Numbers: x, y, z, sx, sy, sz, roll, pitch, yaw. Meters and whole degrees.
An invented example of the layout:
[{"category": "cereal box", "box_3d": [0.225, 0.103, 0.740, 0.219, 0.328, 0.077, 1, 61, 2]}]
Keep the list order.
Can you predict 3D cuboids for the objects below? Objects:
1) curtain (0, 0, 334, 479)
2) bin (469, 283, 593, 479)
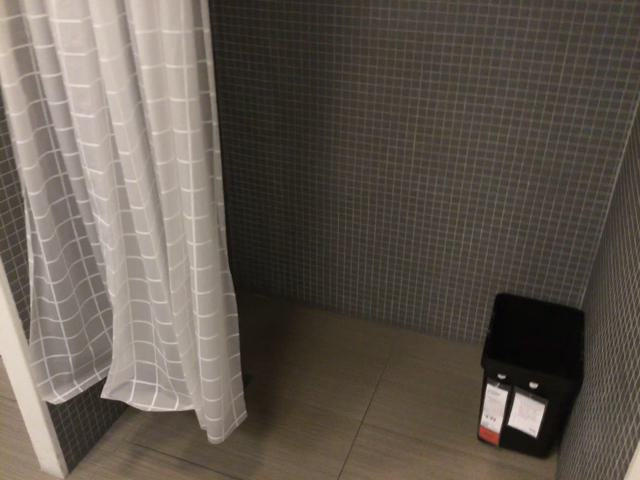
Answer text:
[{"category": "curtain", "box_3d": [-0.320, -0.410, 0.960, 0.640, 1.930, 0.250, 10, 30, 18]}, {"category": "bin", "box_3d": [0.570, 0.370, 1.570, 0.240, 0.320, 0.380, 10, 30, 18]}]
